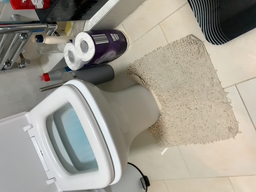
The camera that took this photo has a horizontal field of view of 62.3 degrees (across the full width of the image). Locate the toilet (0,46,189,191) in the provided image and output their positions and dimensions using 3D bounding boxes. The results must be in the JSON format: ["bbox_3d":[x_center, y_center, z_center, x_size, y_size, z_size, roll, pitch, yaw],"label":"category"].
[{"bbox_3d":[-0.280,0.180,0.820,0.620,0.790,0.400,-28,86,44],"label":"toilet"}]
